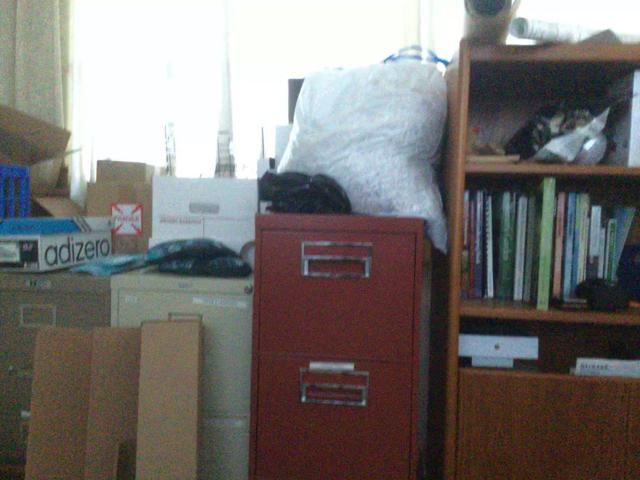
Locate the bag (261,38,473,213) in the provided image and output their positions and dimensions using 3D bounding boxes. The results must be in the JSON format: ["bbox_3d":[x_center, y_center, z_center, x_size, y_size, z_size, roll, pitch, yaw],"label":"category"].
[{"bbox_3d":[0.110,-0.260,1.440,0.450,0.370,0.340,2,2,3],"label":"bag"}]
